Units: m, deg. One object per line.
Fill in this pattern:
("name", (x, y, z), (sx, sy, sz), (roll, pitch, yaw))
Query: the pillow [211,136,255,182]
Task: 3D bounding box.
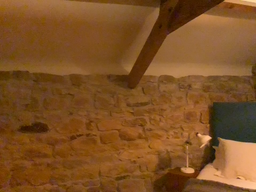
("pillow", (1.430, 0.780, 2.740), (0.560, 0.400, 0.560), (-2, -2, 34))
